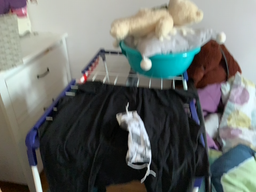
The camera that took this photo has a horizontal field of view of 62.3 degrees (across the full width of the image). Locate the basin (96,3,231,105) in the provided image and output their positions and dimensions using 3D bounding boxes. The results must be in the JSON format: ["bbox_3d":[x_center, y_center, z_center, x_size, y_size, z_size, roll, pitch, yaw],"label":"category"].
[{"bbox_3d":[0.160,-0.250,1.110,0.520,0.370,0.440,5,31,7],"label":"basin"}]

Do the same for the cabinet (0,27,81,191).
[{"bbox_3d":[-0.760,0.060,1.550,0.470,0.910,0.800,5,31,8],"label":"cabinet"}]
